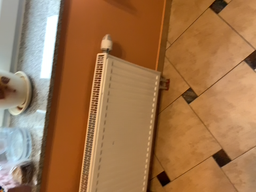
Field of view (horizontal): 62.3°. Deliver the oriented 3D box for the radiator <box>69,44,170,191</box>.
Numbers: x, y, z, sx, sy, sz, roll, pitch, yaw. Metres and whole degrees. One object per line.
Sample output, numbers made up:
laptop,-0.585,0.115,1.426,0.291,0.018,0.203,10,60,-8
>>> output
radiator,-0.010,0.200,1.140,0.120,0.560,0.810,10,91,36
